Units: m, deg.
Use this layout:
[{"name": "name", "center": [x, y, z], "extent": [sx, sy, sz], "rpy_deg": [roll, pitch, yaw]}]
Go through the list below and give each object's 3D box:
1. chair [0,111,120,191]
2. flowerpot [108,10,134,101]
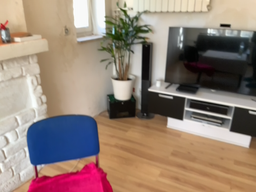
[{"name": "chair", "center": [-0.380, 0.660, 1.350], "extent": [0.540, 0.920, 0.560], "rpy_deg": [-6, 23, -16]}, {"name": "flowerpot", "center": [-0.110, -0.590, 3.090], "extent": [0.300, 1.230, 0.430], "rpy_deg": [-3, 22, -9]}]
